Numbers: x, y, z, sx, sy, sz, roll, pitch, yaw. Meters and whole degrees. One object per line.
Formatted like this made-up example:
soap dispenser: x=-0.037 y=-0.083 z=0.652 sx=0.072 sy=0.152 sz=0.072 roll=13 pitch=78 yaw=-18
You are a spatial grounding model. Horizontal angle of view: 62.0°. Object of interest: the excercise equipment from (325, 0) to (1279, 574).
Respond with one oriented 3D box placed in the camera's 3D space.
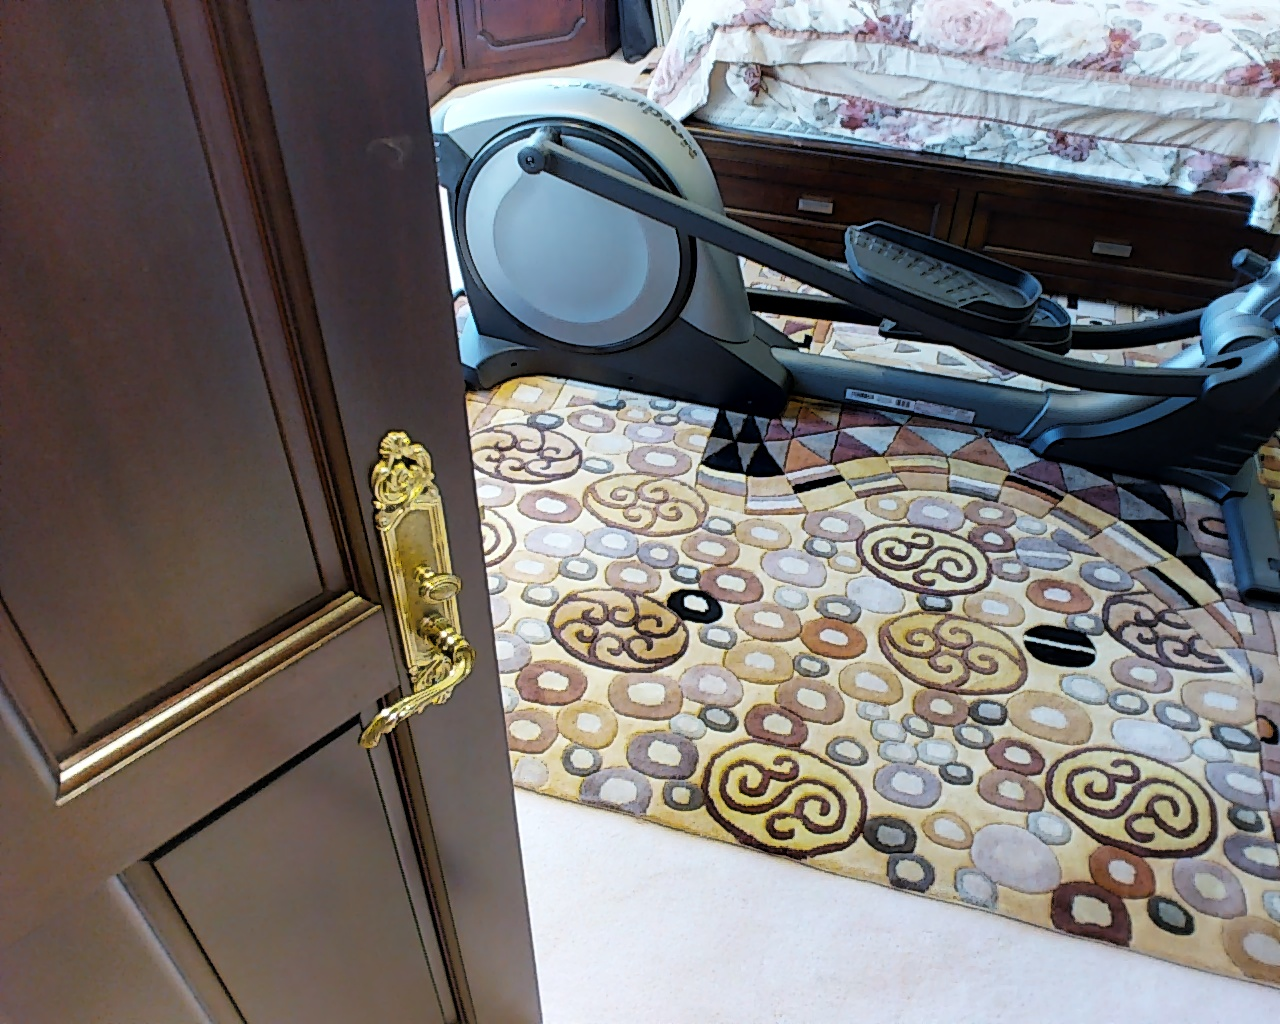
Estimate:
excercise equipment: x=0.470 y=-0.890 z=1.930 sx=1.940 sy=1.650 sz=0.660 roll=12 pitch=43 yaw=12
